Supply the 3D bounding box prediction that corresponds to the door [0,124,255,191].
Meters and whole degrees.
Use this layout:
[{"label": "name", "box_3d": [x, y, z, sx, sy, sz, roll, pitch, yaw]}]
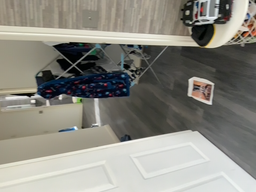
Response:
[{"label": "door", "box_3d": [-0.080, 0.590, 1.310, 0.960, 2.070, 0.080, 45, 133, 53]}]
